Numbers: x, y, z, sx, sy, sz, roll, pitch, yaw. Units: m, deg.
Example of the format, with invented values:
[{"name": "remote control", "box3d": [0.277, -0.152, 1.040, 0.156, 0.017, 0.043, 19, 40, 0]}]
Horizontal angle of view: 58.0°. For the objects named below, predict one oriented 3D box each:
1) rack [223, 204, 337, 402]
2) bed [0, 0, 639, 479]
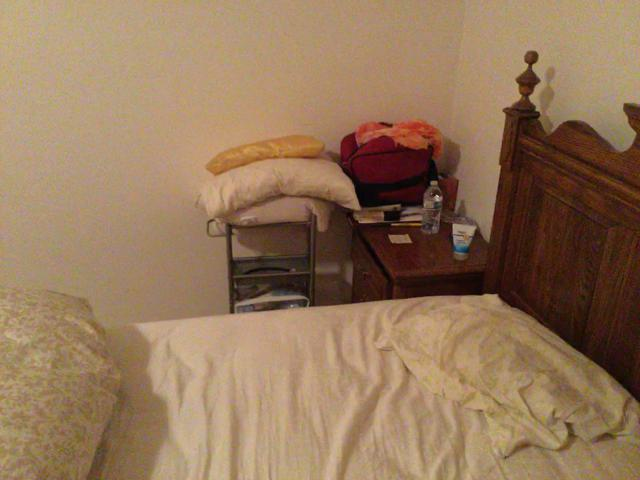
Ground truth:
[{"name": "rack", "box3d": [-0.180, 0.260, 2.340, 0.380, 0.750, 0.250, 3, 18, -9]}, {"name": "bed", "box3d": [-0.250, 0.490, 0.830, 2.270, 1.680, 1.960, 3, 18, -9]}]
